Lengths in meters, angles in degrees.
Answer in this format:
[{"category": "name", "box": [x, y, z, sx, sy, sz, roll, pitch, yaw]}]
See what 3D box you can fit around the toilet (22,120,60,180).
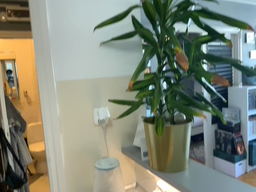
[{"category": "toilet", "box": [-1.570, 0.910, 3.790, 0.410, 0.800, 0.740, -8, 8, -33]}]
